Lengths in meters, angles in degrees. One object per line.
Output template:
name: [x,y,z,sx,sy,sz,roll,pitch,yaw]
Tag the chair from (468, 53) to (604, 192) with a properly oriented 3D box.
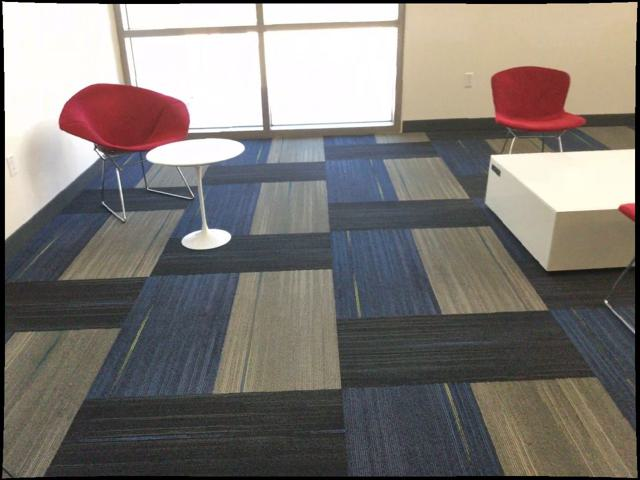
chair: [1.356,-0.782,3.760,0.579,0.752,0.620,-1,25,0]
